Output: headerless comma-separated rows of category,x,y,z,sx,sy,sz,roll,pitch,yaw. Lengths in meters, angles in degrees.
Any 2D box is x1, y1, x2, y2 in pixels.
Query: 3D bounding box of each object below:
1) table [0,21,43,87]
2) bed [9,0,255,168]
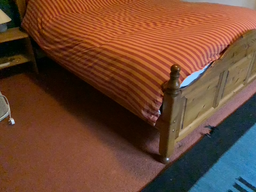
table,-1.280,-0.460,2.250,0.490,0.500,0.420,-26,41,-32
bed,0.070,-0.610,2.250,1.700,0.680,2.180,-26,41,-32
